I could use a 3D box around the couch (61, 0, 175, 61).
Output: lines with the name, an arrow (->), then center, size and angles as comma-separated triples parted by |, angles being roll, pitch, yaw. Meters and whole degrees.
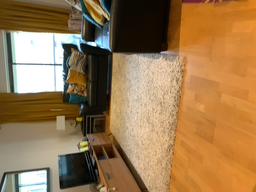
couch -> -0.340, -1.150, 2.790 | 2.060, 0.910, 1.050 | -139, 51, -63
